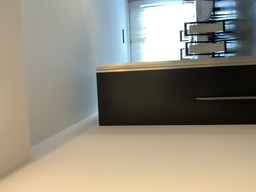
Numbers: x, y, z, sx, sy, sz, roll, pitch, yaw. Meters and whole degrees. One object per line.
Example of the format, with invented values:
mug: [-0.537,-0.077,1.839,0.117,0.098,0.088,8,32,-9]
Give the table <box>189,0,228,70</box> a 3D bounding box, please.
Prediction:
table: [2.110,-1.670,5.670,0.960,0.780,1.840,-27,-64,-81]

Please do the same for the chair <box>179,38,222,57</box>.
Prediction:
chair: [2.030,-1.370,6.050,0.560,1.070,0.390,-20,-71,-81]

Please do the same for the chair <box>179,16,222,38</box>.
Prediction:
chair: [2.010,-1.910,5.960,0.560,1.050,0.390,-20,-71,-81]
